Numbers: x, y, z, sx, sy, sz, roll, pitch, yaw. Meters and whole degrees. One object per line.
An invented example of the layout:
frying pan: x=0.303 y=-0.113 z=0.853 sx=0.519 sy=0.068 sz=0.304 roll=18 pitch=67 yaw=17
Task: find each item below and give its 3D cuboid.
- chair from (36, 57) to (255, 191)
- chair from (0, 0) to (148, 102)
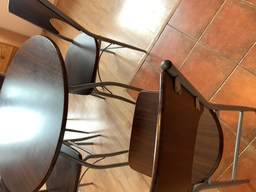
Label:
chair: x=0.190 y=0.160 z=0.890 sx=0.490 sy=0.880 sz=0.410 roll=8 pitch=88 yaw=42
chair: x=-0.340 y=-0.300 z=1.450 sx=0.410 sy=0.870 sz=0.510 roll=15 pitch=92 yaw=42
